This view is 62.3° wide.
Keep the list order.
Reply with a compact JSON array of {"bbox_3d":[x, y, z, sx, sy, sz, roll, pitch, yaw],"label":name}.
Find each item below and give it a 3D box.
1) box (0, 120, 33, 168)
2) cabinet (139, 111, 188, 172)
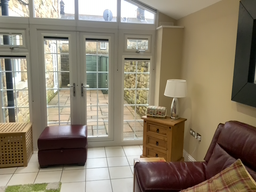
[{"bbox_3d":[-1.690,0.670,3.040,0.480,0.520,0.490,0,10,-10],"label":"box"},{"bbox_3d":[0.520,0.630,3.120,0.480,0.680,0.480,10,13,39],"label":"cabinet"}]
